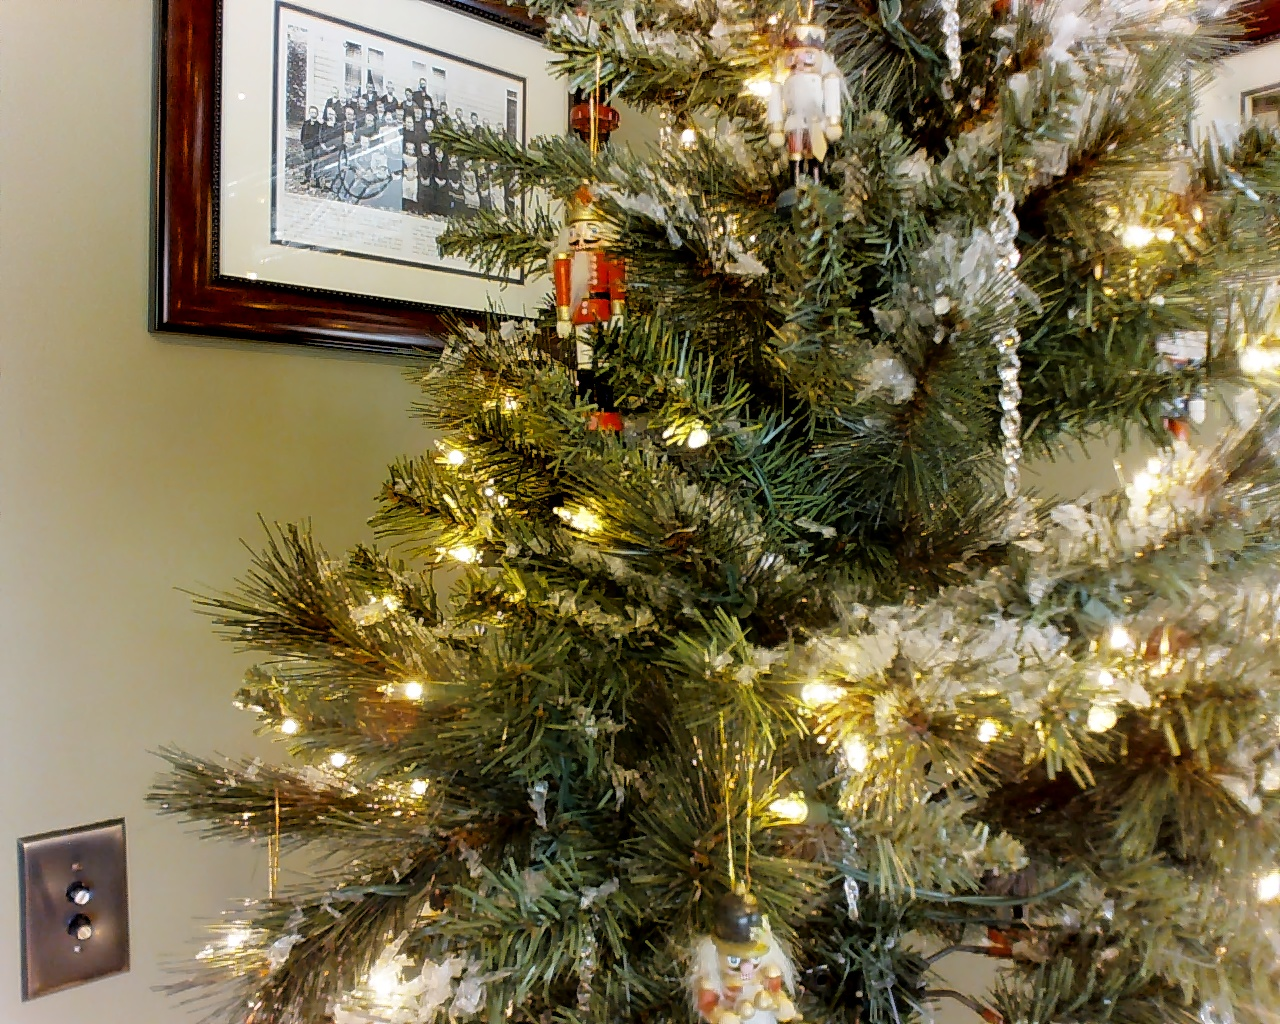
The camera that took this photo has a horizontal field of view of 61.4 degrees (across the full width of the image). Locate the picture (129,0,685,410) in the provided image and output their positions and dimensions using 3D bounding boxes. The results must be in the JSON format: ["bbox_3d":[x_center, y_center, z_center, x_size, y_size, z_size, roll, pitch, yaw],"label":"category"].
[{"bbox_3d":[-0.170,-0.320,0.990,0.550,0.410,0.040,1,0,-42],"label":"picture"}]
